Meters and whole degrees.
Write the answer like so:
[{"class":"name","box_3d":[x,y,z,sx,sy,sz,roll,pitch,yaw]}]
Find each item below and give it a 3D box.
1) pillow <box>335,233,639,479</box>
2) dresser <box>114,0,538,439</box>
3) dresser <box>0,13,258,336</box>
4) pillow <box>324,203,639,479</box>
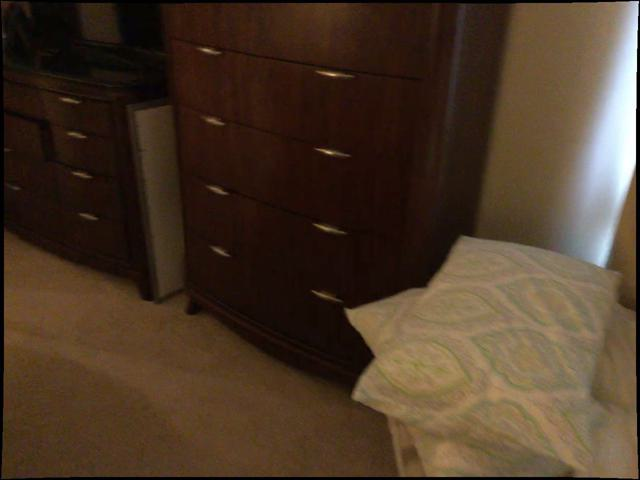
[{"class":"pillow","box_3d":[0.539,0.281,1.470,0.888,0.180,0.810,-4,30,-7]},{"class":"dresser","box_3d":[-0.020,-0.331,2.060,1.208,1.583,0.620,20,35,31]},{"class":"dresser","box_3d":[-1.297,-0.471,2.880,1.897,1.002,0.760,20,35,31]},{"class":"pillow","box_3d":[0.439,0.200,1.390,0.529,0.210,0.730,20,35,31]}]
